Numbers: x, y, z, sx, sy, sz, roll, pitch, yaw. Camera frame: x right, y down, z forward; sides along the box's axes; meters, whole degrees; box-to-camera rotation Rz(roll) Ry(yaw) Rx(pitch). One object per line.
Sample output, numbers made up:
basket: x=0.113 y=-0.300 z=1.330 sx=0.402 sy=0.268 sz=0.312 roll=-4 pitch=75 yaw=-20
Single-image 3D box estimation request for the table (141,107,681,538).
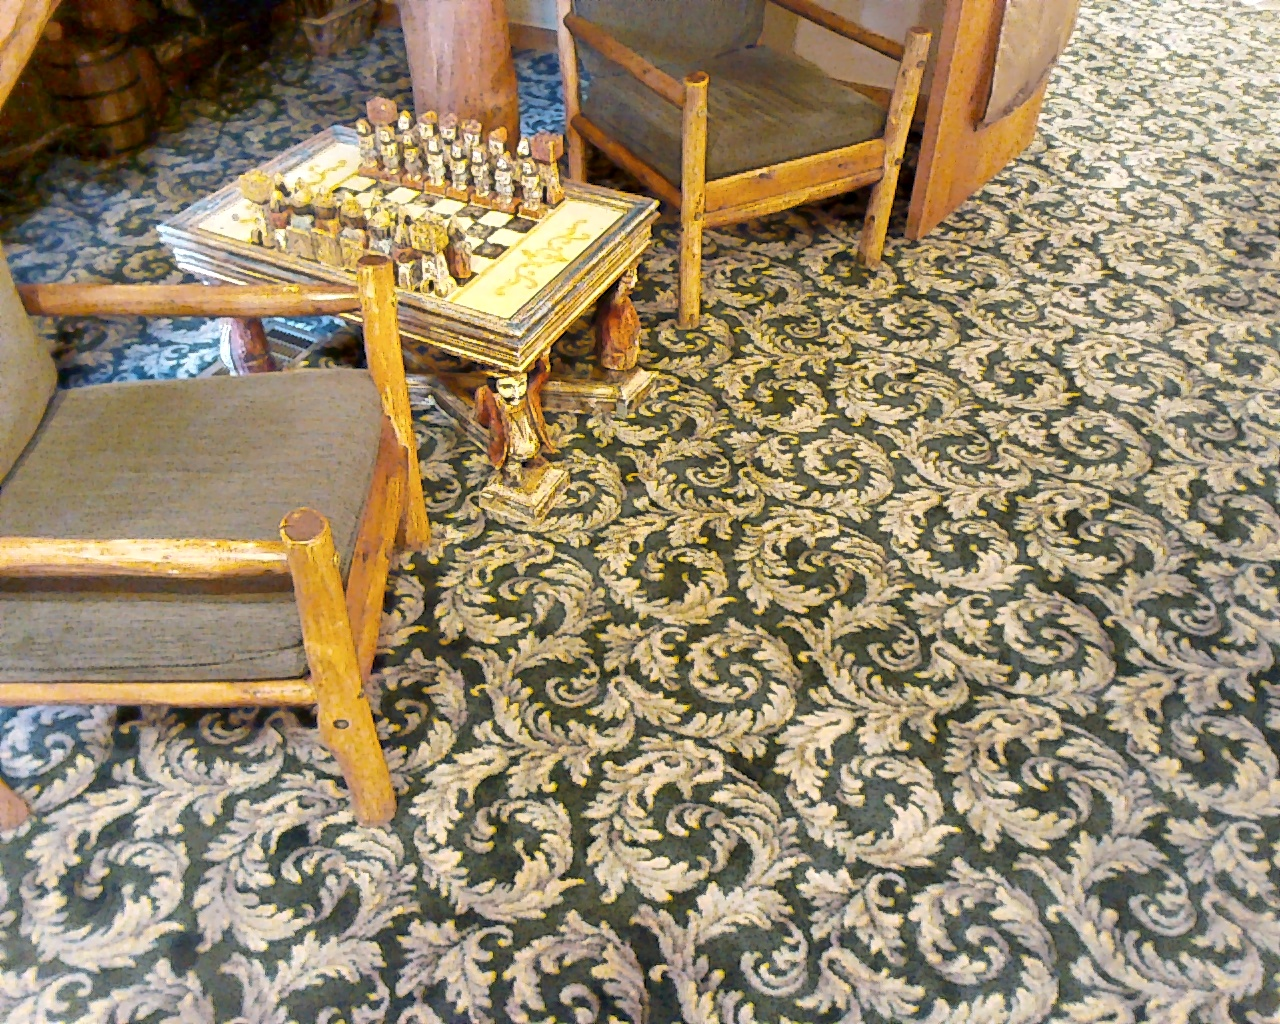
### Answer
table: x=-0.470 y=-0.480 z=2.490 sx=0.910 sy=0.520 sz=0.700 roll=17 pitch=45 yaw=18
